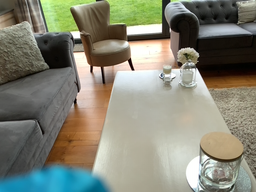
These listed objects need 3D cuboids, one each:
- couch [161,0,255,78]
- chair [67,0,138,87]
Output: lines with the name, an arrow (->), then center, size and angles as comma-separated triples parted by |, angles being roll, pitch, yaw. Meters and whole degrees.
couch -> 1.340, -0.810, 2.760 | 1.690, 0.740, 0.920 | -2, 33, 4
chair -> -0.320, -0.720, 2.740 | 0.590, 0.830, 0.750 | -18, 35, -20
